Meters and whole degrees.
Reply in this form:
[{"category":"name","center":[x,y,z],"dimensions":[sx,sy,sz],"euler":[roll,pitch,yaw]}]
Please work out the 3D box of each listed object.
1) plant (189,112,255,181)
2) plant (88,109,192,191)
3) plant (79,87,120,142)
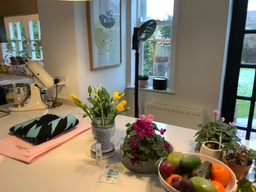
[{"category":"plant","center":[0.450,0.220,1.060],"dimensions":[0.270,0.150,0.370],"euler":[5,15,15]},{"category":"plant","center":[0.040,0.220,1.020],"dimensions":[0.290,0.170,0.410],"euler":[-12,19,-38]},{"category":"plant","center":[-0.170,0.100,1.290],"dimensions":[0.180,0.270,0.160],"euler":[11,18,34]}]
